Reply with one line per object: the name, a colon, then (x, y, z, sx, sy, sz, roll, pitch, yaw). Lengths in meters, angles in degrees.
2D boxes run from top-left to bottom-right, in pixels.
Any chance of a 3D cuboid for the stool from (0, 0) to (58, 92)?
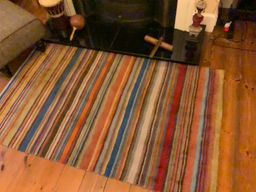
stool: (-1.040, -0.480, 1.690, 0.710, 0.380, 0.500, 32, 64, 23)
